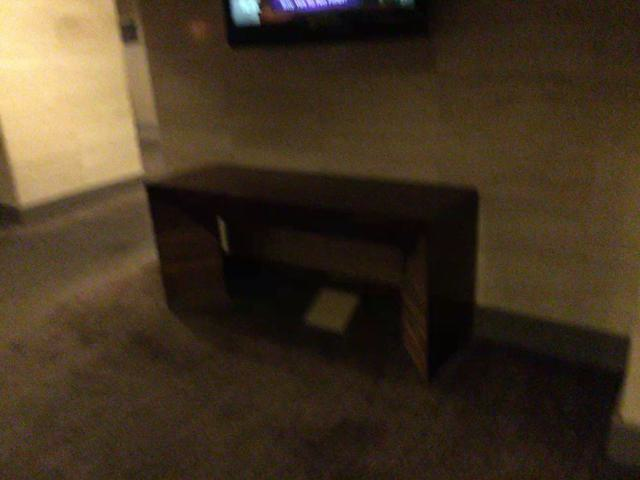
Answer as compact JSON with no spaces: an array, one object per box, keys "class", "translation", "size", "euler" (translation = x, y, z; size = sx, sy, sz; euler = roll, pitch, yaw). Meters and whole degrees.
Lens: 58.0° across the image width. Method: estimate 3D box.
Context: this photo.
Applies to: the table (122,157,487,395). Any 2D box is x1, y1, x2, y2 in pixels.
[{"class":"table","translation":[-0.150,0.050,2.740],"size":[1.680,0.720,0.540],"euler":[10,18,34]}]
